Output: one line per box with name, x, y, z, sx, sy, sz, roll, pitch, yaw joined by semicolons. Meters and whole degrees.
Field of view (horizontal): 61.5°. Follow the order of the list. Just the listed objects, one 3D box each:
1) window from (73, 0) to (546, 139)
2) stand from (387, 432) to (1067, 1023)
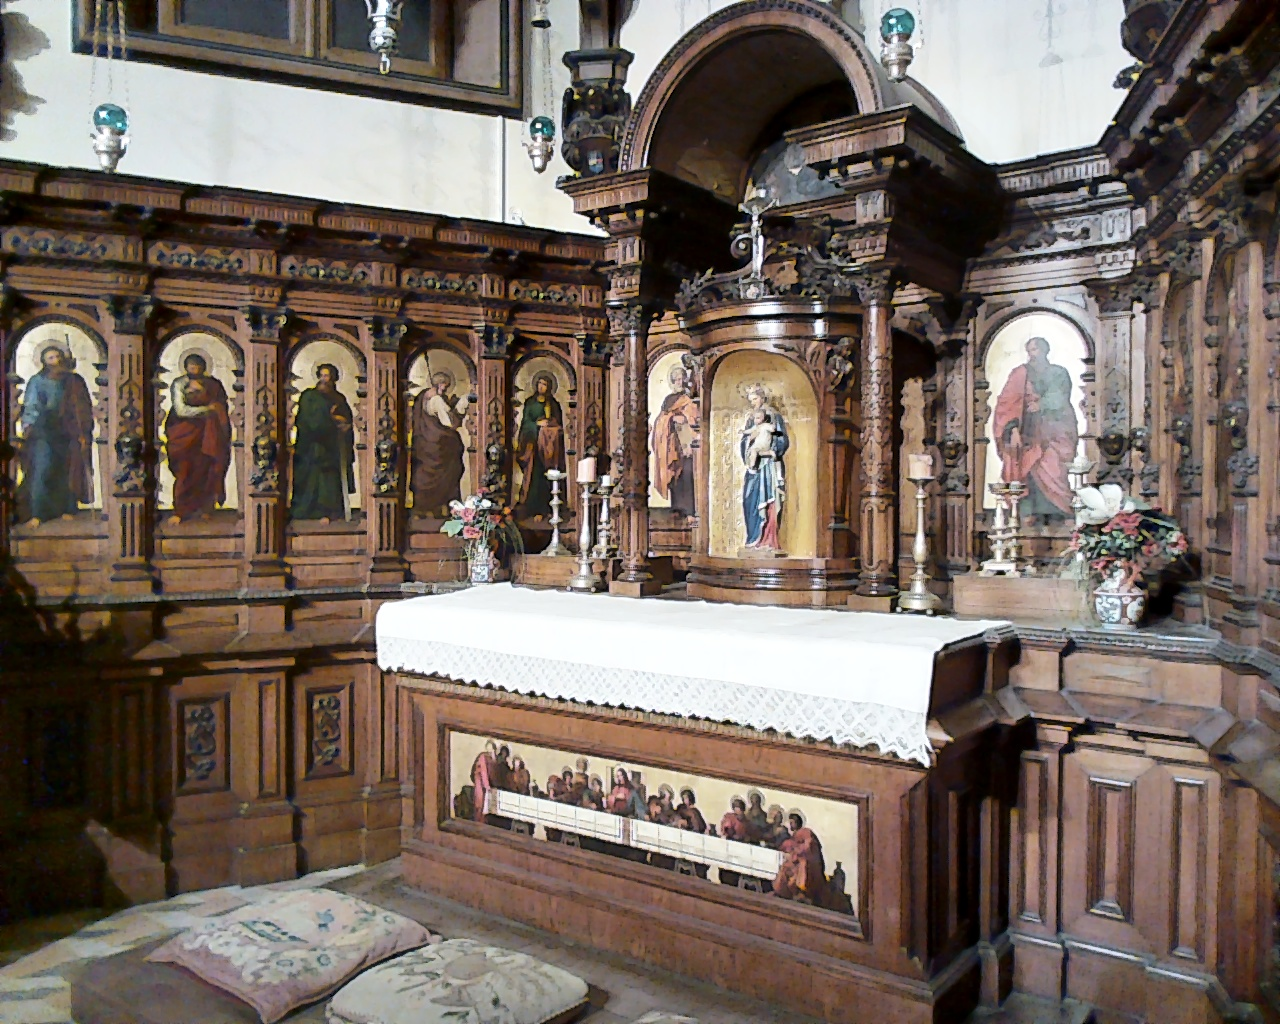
window;-1.210;-2.461;4.180;1.760;1.670;0.200;-1;1;-30
stand;0.170;0.580;3.270;1.940;1.550;0.780;1;1;38
